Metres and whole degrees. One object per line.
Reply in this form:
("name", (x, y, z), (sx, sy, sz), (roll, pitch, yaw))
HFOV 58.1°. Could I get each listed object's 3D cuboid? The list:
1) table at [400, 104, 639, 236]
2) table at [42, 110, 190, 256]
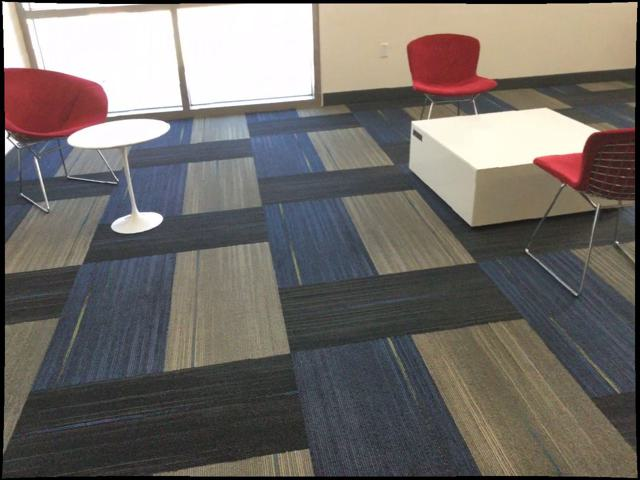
("table", (1.087, -0.451, 3.330), (0.998, 0.341, 1.000), (-6, 28, -7))
("table", (-1.027, -0.321, 3.050), (0.559, 0.541, 0.590), (-6, 28, -7))
